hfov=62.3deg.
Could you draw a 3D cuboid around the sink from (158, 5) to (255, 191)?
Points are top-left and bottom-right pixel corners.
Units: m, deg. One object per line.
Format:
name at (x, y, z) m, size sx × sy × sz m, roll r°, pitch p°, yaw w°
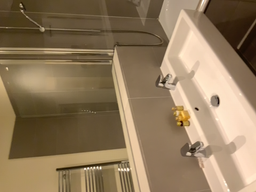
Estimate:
sink at (0.440, -0.010, 1.150) m, size 0.470 × 0.160 × 1.030 m, roll 104°, pitch 158°, yaw -48°
